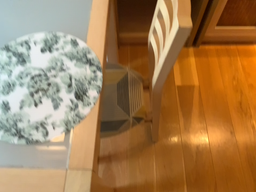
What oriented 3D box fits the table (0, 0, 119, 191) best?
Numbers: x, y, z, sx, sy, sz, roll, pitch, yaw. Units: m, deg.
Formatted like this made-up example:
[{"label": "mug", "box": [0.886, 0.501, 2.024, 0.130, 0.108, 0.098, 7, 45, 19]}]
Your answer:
[{"label": "table", "box": [-0.480, 0.030, 0.990, 0.820, 0.750, 0.810, 0, 63, 1]}]
